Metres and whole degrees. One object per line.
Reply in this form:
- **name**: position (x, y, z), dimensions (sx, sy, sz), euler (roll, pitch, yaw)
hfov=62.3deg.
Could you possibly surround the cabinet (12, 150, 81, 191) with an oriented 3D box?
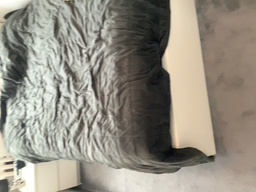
- **cabinet**: position (-0.940, 0.870, 2.430), dimensions (0.570, 0.550, 0.390), euler (-13, 80, 46)
